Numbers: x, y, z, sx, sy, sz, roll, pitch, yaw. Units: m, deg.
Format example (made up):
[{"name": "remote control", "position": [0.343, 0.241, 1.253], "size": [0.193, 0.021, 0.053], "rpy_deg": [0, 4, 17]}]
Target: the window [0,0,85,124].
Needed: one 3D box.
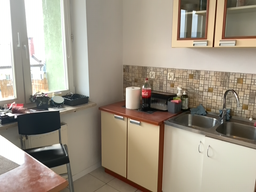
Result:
[{"name": "window", "position": [-1.000, -0.590, 2.080], "size": [0.260, 1.550, 1.230], "rpy_deg": [10, 16, 36]}]

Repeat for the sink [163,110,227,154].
[{"name": "sink", "position": [0.660, 0.320, 2.080], "size": [0.430, 0.190, 0.490], "rpy_deg": [12, 17, 40]}]

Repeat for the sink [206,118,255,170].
[{"name": "sink", "position": [0.960, 0.380, 1.820], "size": [0.370, 0.190, 0.490], "rpy_deg": [12, 17, 40]}]
